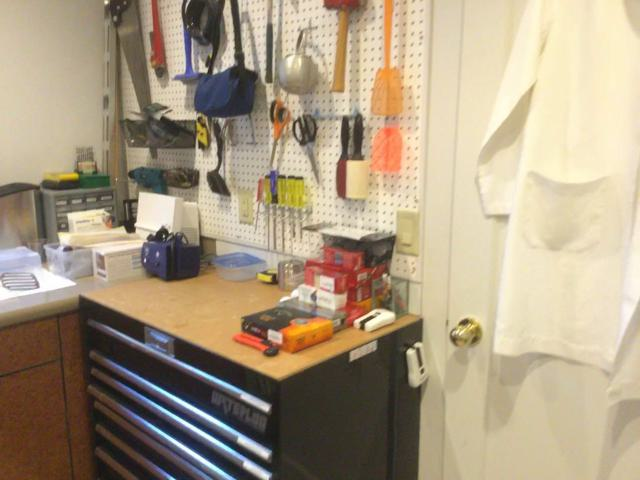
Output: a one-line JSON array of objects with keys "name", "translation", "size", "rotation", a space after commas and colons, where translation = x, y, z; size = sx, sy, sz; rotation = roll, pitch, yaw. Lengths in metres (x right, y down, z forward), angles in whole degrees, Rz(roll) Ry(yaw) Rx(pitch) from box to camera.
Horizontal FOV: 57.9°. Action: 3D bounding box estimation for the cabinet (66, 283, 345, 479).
[{"name": "cabinet", "translation": [-0.350, 0.530, 1.560], "size": [0.900, 0.650, 0.200], "rotation": [10, 14, 40]}]
